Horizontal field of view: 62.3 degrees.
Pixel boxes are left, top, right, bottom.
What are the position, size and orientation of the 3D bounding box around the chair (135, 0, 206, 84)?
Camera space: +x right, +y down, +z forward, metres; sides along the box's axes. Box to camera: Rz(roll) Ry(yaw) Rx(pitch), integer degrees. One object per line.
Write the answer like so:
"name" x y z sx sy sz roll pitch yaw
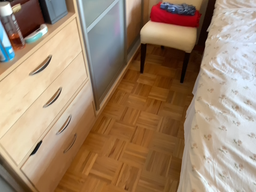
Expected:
"chair" 0.400 -0.700 1.880 0.470 0.940 0.610 15 48 14
